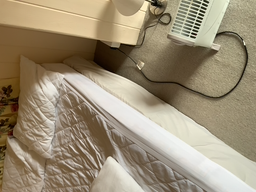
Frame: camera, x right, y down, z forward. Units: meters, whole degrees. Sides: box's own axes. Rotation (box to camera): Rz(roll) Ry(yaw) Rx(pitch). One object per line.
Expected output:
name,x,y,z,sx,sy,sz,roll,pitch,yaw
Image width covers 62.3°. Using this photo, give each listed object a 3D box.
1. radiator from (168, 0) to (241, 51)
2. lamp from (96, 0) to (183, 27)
radiator,0.450,-0.530,1.090,0.130,0.390,0.550,32,115,36
lamp,0.090,-0.640,1.340,0.290,0.480,0.240,38,119,33
